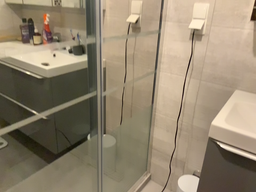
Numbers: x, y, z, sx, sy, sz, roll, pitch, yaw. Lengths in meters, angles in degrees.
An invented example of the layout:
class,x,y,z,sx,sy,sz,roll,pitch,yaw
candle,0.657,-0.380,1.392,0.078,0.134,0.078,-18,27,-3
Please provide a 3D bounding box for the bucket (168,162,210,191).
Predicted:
class,x,y,z,sx,sy,sz,roll,pitch,yaw
bucket,0.400,0.650,1.440,0.200,0.280,0.180,18,28,30
